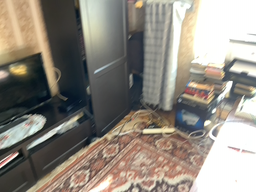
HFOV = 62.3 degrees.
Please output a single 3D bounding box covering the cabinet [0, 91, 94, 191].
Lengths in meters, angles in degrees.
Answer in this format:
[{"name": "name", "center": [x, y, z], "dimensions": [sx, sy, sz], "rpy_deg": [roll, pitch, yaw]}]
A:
[{"name": "cabinet", "center": [-0.870, 0.420, 1.640], "dimensions": [0.490, 0.380, 1.170], "rpy_deg": [19, 35, 31]}]
